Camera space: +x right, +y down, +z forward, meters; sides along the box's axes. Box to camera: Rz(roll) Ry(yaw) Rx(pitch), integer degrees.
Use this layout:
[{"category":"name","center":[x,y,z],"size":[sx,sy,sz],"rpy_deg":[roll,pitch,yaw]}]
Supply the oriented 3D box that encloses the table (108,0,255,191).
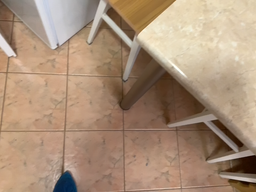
[{"category":"table","center":[0.520,0.110,0.870],"size":[1.020,0.740,0.590],"rpy_deg":[44,73,2]}]
